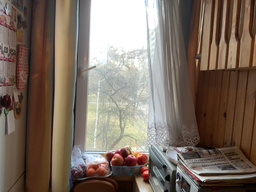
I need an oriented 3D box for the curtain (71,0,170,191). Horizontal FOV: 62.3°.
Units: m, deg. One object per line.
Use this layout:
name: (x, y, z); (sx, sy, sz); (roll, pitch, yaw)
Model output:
curtain: (-0.060, -0.090, 1.600); (0.630, 1.650, 0.150); (3, 4, -6)
